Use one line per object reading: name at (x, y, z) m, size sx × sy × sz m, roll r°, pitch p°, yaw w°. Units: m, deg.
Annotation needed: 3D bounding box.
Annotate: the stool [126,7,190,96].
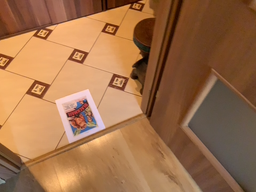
stool at (0.140, -0.230, 1.200) m, size 0.210 × 0.420 × 0.220 m, roll -20°, pitch 62°, yaw -15°
